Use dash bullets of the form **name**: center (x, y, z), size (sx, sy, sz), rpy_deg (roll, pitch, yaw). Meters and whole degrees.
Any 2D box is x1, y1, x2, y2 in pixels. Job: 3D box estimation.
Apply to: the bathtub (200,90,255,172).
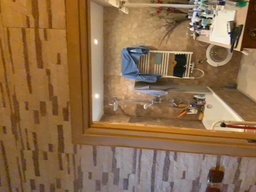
- **bathtub**: center (1.710, 0.440, 3.510), size (1.680, 0.530, 0.710), rpy_deg (-71, -16, -75)
